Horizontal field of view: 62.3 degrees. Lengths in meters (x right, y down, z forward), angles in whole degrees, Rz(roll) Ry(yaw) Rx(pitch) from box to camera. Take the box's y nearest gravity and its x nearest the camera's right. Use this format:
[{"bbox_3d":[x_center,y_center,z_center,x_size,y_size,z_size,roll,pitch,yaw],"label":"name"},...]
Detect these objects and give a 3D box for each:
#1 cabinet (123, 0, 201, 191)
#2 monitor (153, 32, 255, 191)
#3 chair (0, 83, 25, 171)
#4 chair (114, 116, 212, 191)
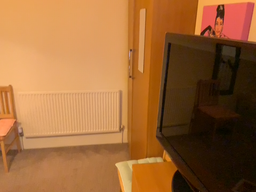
[{"bbox_3d":[0.230,-0.310,2.120,0.380,2.360,1.050,-2,20,-8],"label":"cabinet"},{"bbox_3d":[0.370,0.170,0.860,0.100,0.760,1.140,-4,20,-14],"label":"monitor"},{"bbox_3d":[-1.530,0.340,2.390,0.450,0.860,0.480,-2,20,-8],"label":"chair"},{"bbox_3d":[0.220,0.650,1.690,0.580,0.830,0.440,-4,20,-14],"label":"chair"}]
